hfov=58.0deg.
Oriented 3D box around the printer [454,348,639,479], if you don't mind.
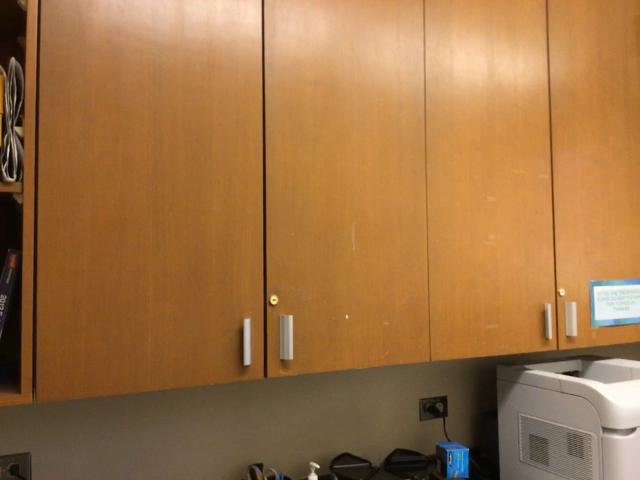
[{"bbox_3d":[0.780,0.570,1.710,0.460,0.410,0.590,0,-5,-25],"label":"printer"}]
